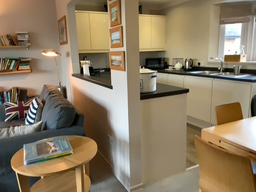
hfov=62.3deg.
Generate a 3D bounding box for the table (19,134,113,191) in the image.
[{"bbox_3d":[-0.480,0.690,1.640,0.570,0.540,0.550,-8,12,-25],"label":"table"}]

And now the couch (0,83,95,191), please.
[{"bbox_3d":[-1.190,0.400,2.520,0.980,0.820,1.710,-9,14,-28],"label":"couch"}]
